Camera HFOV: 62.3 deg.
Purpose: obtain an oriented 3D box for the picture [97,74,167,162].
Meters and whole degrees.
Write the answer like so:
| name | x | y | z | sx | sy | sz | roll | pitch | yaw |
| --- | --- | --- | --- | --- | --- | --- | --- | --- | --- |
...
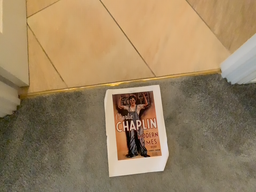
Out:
| name | x | y | z | sx | sy | sz | roll | pitch | yaw |
| --- | --- | --- | --- | --- | --- | --- | --- | --- | --- |
| picture | 0.010 | 0.070 | 0.750 | 0.230 | 0.010 | 0.300 | -3 | 77 | -2 |
